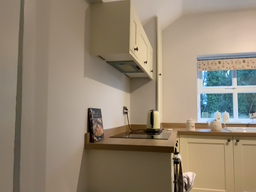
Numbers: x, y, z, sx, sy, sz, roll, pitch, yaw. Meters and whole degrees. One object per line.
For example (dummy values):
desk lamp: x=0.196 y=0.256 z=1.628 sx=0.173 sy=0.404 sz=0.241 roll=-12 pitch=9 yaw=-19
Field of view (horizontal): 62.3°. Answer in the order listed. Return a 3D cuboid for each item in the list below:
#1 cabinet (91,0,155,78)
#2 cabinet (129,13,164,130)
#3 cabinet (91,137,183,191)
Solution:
cabinet: x=0.040 y=-0.470 z=2.130 sx=0.340 sy=0.380 sz=1.250 roll=-1 pitch=-4 yaw=13
cabinet: x=0.280 y=-0.300 z=3.000 sx=0.400 sy=1.490 sz=0.580 roll=-1 pitch=-4 yaw=13
cabinet: x=0.080 y=0.780 z=1.540 sx=0.620 sy=0.910 sz=0.300 roll=-1 pitch=-4 yaw=13
